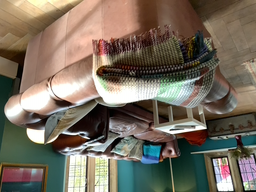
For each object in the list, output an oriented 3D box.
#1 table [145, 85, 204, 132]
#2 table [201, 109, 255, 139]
[{"bbox_3d":[0.670,0.220,3.090,0.600,0.450,0.570,-18,154,34],"label":"table"},{"bbox_3d":[2.040,0.600,4.300,0.910,0.380,0.560,-15,156,29],"label":"table"}]
